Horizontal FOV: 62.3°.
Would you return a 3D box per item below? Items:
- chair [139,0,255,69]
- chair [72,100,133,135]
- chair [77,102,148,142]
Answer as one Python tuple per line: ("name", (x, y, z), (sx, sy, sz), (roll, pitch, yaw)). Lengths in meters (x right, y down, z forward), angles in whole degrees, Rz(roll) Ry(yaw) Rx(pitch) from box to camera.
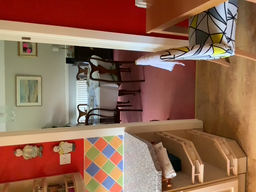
("chair", (0.580, -0.460, 1.590), (0.360, 0.920, 0.460), (-168, 79, -67))
("chair", (-0.480, 0.360, 3.950), (0.540, 1.020, 0.530), (-175, 85, -67))
("chair", (-0.260, 0.380, 3.440), (0.540, 1.020, 0.530), (180, 89, -67))
